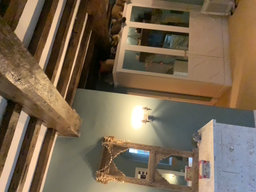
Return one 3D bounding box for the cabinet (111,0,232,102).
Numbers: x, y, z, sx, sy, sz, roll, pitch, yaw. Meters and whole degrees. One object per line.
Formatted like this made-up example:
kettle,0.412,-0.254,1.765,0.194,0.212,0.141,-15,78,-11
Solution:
cabinet,0.910,-1.050,4.660,0.840,2.230,1.920,93,-175,-67
